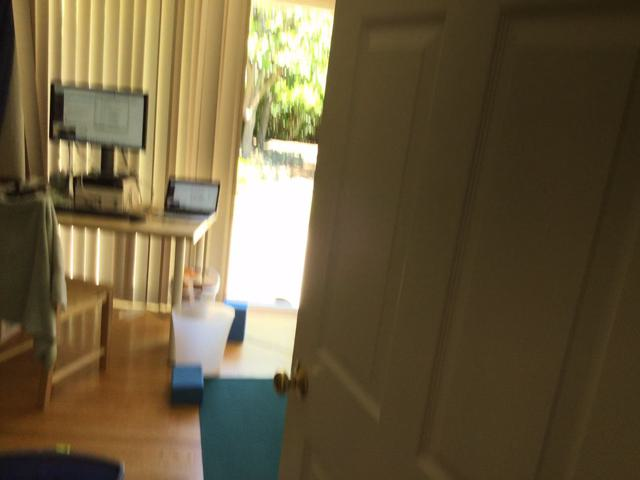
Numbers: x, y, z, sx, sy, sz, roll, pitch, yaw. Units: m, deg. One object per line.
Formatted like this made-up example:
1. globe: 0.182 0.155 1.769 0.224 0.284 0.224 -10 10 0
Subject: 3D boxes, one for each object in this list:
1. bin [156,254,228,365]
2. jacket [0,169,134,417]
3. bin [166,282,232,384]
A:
1. bin: -0.720 0.380 3.300 0.300 0.470 0.460 8 11 -8
2. jacket: -1.300 0.200 2.680 0.550 0.940 0.560 11 11 8
3. bin: -0.630 0.480 3.050 0.260 0.400 0.360 8 11 -8
